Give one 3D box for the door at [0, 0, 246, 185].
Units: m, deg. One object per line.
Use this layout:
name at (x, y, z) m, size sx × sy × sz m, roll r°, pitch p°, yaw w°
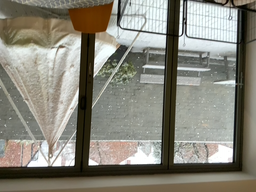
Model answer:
door at (-0.030, -0.260, 2.400) m, size 3.020 × 2.270 × 0.270 m, roll 3°, pitch 179°, yaw -16°
